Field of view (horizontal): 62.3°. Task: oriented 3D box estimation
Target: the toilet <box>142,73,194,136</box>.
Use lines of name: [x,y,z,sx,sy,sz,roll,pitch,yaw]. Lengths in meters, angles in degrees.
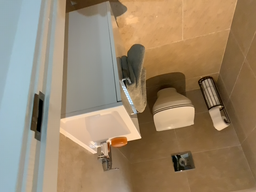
toilet: [0.400,0.110,2.130,0.390,0.370,0.540,-12,150,7]
